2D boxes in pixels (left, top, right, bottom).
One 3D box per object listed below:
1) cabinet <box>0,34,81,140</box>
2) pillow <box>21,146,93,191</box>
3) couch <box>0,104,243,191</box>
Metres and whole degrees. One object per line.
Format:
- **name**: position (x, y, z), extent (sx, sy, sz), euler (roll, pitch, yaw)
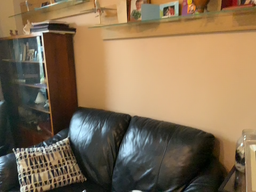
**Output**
- **cabinet**: position (-1.080, -0.160, 2.510), extent (1.090, 1.030, 0.360), euler (9, 16, 38)
- **pillow**: position (-0.610, 0.590, 1.800), extent (0.440, 0.180, 0.450), euler (-15, -3, -36)
- **couch**: position (-0.190, 0.700, 1.570), extent (1.610, 0.870, 0.970), euler (9, 16, 38)
